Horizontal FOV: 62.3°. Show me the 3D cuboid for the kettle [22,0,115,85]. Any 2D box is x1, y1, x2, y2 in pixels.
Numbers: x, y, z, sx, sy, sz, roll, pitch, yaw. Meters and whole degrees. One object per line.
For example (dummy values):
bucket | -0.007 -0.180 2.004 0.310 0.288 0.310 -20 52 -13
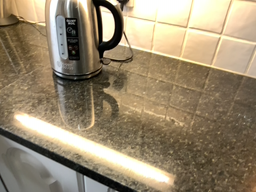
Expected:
kettle | -0.150 -0.180 0.600 0.160 0.200 0.180 17 38 15
